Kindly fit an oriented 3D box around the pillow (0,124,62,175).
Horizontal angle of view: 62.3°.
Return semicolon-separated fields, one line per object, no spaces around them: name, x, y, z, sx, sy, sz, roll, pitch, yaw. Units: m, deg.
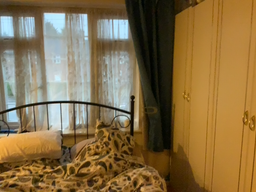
pillow;-0.980;0.480;1.980;0.650;0.280;0.410;-3;9;-14
